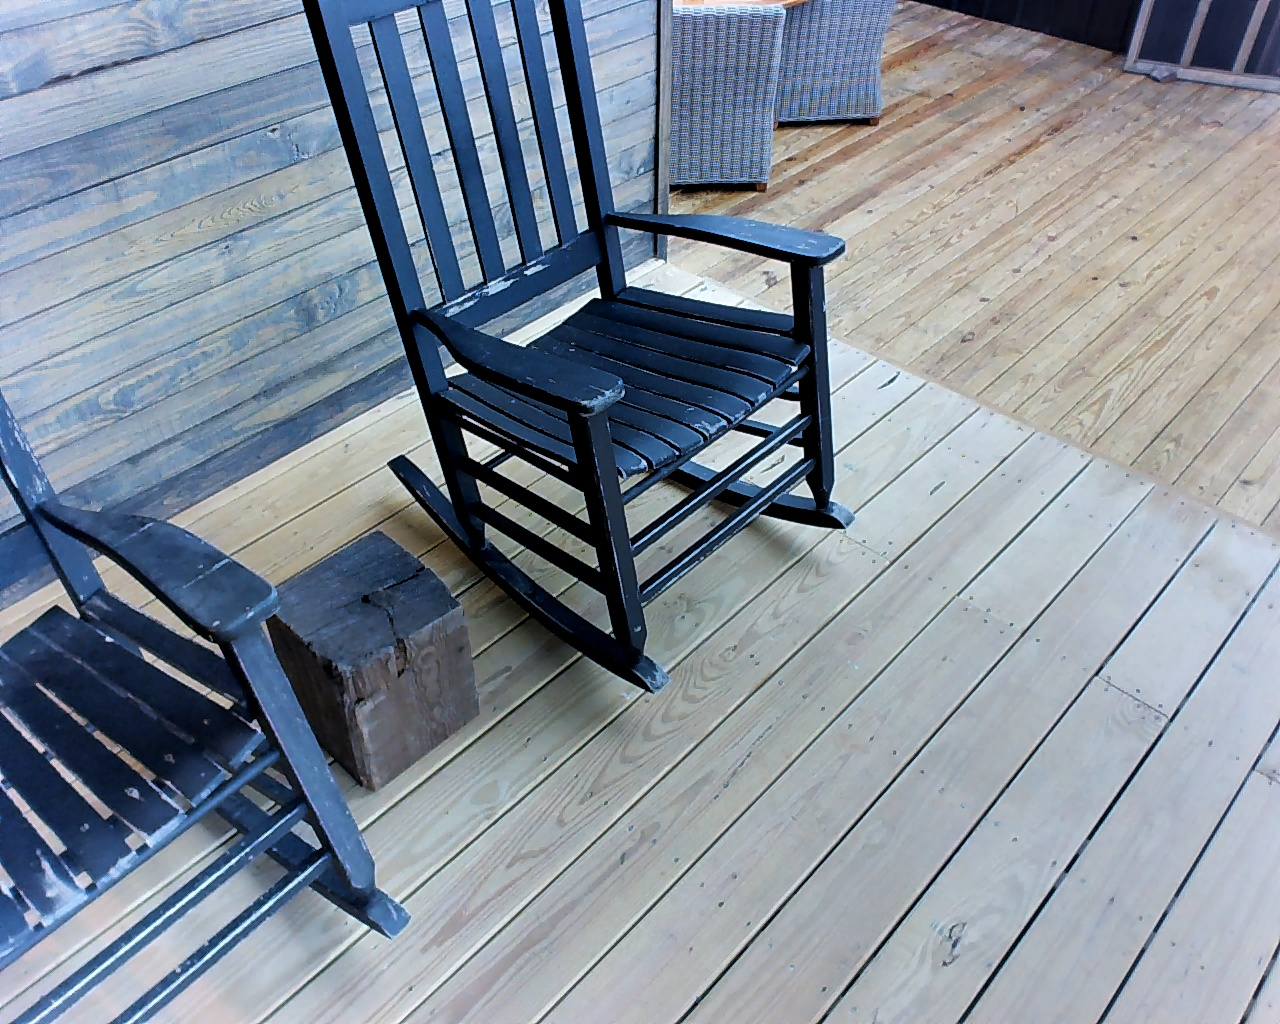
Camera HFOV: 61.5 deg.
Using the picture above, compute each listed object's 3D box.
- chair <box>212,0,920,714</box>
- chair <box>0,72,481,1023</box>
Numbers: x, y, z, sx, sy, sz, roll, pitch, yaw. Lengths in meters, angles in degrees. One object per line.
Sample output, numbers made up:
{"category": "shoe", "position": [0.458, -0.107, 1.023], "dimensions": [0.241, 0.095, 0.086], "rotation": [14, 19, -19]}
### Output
{"category": "chair", "position": [-0.060, -0.420, 1.900], "dimensions": [0.740, 1.270, 0.700], "rotation": [32, 59, 31]}
{"category": "chair", "position": [-0.830, 0.180, 1.300], "dimensions": [0.890, 1.180, 0.690], "rotation": [30, 52, 30]}
